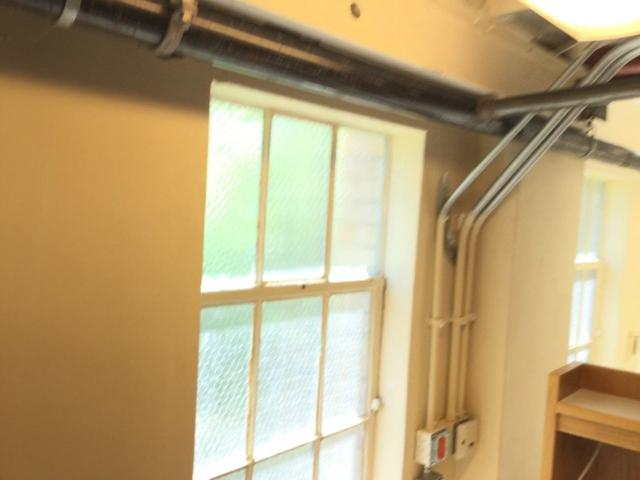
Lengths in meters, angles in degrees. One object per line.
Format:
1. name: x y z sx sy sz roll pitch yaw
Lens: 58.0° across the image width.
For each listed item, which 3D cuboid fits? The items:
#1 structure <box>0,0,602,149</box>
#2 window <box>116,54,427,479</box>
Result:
1. structure: -0.200 -0.420 0.850 0.270 0.290 2.700 1 2 44
2. window: -0.070 0.600 1.560 0.280 1.950 0.850 1 2 44
